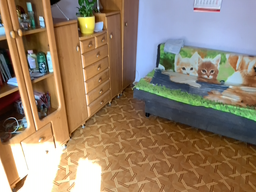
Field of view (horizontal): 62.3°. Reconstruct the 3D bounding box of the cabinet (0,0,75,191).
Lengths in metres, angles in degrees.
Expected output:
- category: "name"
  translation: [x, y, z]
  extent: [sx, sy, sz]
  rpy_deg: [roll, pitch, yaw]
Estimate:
- category: "cabinet"
  translation: [-0.910, -0.280, 1.550]
  extent: [0.490, 1.910, 0.730]
  rpy_deg: [15, 30, 24]
